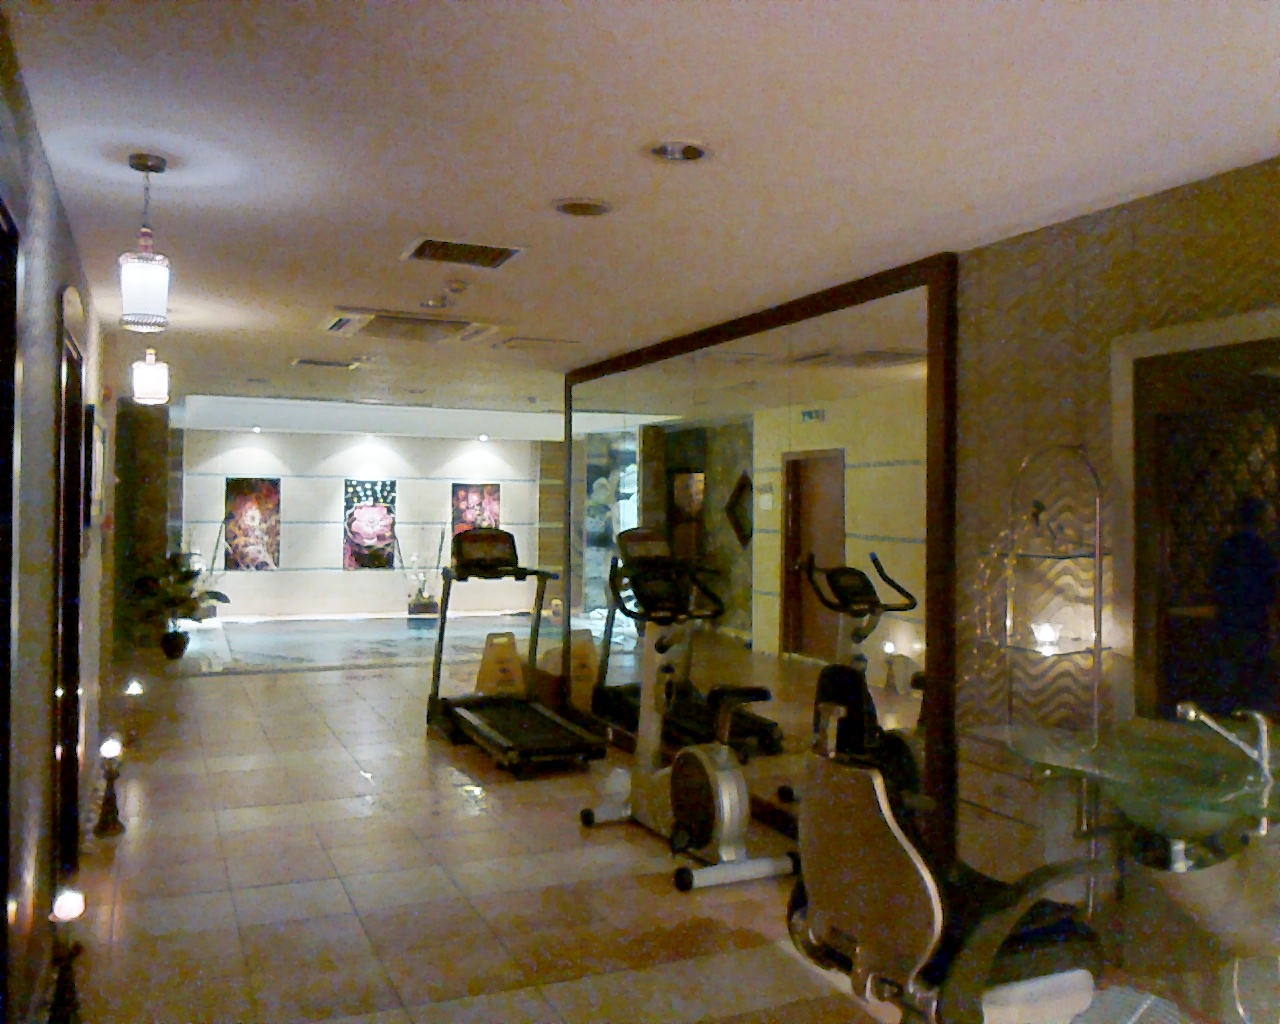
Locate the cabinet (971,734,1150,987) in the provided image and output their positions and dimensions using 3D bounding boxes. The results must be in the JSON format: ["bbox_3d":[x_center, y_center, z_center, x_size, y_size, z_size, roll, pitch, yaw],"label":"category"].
[{"bbox_3d":[1.370,1.110,3.530,0.360,0.670,0.410,1,-1,-23],"label":"cabinet"}]

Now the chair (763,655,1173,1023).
[{"bbox_3d":[0.760,1.000,2.580,0.710,1.220,0.610,1,-1,-23],"label":"chair"}]
